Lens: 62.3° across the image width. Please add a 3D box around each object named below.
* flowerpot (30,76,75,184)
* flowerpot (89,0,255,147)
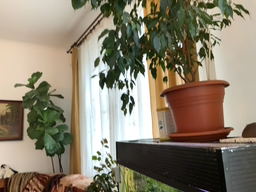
[{"bbox_3d":[-1.300,0.540,3.600,0.620,1.540,0.890,1,-10,-23],"label":"flowerpot"},{"bbox_3d":[0.280,-0.460,1.050,0.780,1.300,0.630,1,-10,-27],"label":"flowerpot"}]
